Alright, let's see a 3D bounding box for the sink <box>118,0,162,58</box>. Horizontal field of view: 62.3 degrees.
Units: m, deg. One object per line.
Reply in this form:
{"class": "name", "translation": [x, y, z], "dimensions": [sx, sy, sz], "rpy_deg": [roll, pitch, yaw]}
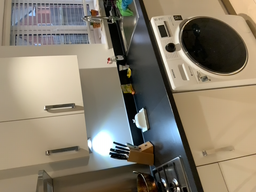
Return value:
{"class": "sink", "translation": [0.080, -0.690, 1.980], "dimensions": [0.500, 0.200, 0.440], "rpy_deg": [115, 146, -61]}
